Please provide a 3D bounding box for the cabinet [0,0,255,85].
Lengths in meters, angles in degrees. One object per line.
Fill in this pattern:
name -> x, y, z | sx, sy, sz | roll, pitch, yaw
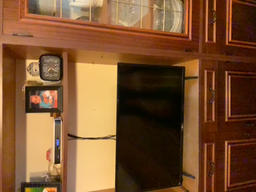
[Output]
cabinet -> -0.020, -0.620, 1.240 | 0.500, 2.280, 0.990 | 180, 91, -69
